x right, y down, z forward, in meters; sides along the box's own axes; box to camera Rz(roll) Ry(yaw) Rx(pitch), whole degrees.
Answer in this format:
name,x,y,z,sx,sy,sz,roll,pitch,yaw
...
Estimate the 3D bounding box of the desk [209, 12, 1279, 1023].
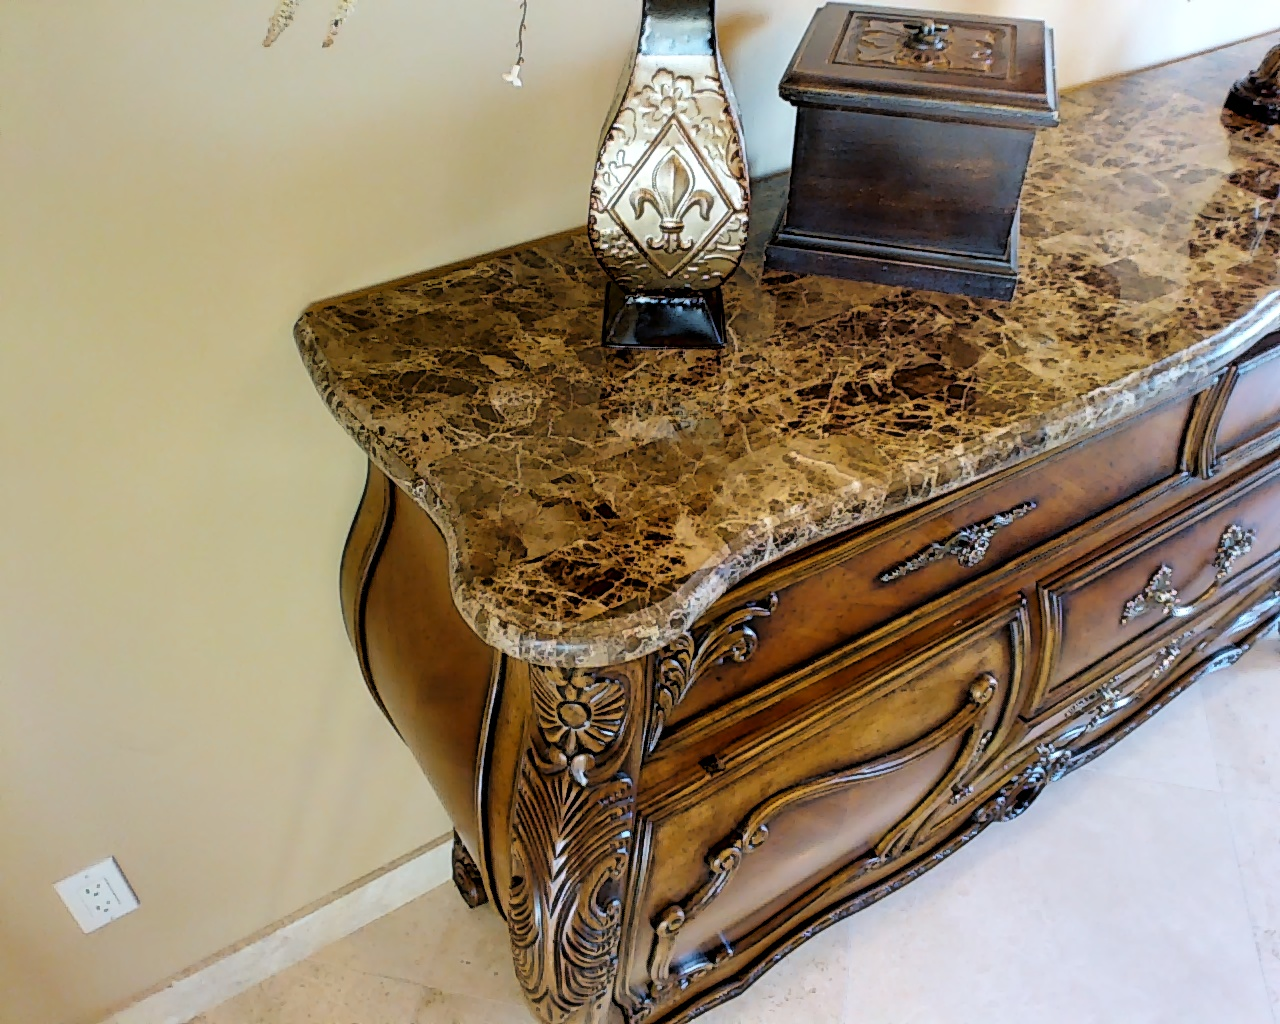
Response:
name,x,y,z,sx,sy,sz,roll,pitch,yaw
desk,0.540,0.050,1.500,1.830,1.040,0.600,-23,47,-24
